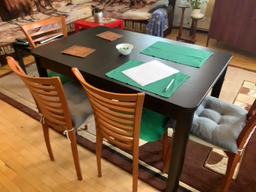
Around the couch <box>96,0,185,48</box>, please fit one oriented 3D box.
[{"bbox_3d":[0.240,-1.700,4.080,1.340,0.970,1.000,23,41,28],"label":"couch"}]

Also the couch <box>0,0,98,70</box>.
[{"bbox_3d":[-1.620,-1.380,3.560,0.960,0.980,2.160,23,41,28],"label":"couch"}]
